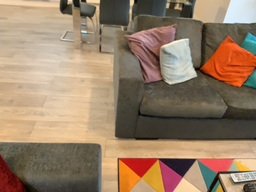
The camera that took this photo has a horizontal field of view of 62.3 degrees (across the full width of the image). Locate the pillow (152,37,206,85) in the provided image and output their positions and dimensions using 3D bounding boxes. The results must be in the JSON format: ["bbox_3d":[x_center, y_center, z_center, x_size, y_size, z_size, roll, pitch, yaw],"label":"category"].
[{"bbox_3d":[0.450,-0.310,1.940,0.400,0.370,0.110,-27,73,-13],"label":"pillow"}]

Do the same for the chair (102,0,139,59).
[{"bbox_3d":[-0.120,-1.110,2.960,0.430,1.000,0.550,3,38,-5],"label":"chair"}]

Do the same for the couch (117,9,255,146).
[{"bbox_3d":[0.750,-0.200,2.070,1.640,0.870,1.010,1,37,-6],"label":"couch"}]
